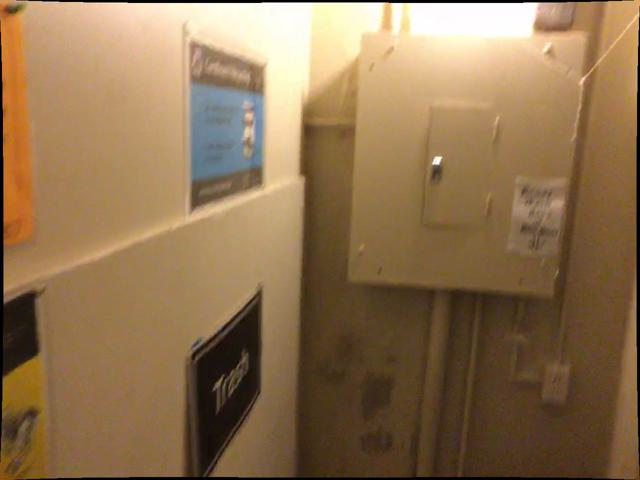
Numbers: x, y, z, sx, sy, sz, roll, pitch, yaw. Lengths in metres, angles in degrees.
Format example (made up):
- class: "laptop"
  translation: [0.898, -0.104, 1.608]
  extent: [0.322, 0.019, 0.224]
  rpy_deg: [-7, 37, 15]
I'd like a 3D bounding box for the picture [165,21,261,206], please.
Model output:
- class: "picture"
  translation: [-0.190, -0.240, 1.100]
  extent: [0.020, 0.280, 0.440]
  rpy_deg: [6, 14, 10]
